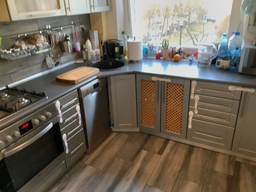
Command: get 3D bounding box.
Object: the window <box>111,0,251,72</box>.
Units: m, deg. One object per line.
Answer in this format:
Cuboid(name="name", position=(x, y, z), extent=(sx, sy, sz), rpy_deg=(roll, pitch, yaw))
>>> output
Cuboid(name="window", position=(0.520, -1.140, 2.450), extent=(1.600, 1.570, 0.130), rpy_deg=(10, 27, 25))
